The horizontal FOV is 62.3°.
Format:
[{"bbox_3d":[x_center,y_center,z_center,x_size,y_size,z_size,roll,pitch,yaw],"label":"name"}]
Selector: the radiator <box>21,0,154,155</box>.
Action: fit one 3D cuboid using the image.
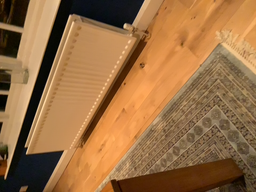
[{"bbox_3d":[-0.480,-0.020,1.990,1.800,0.630,0.090,-57,46,33],"label":"radiator"}]
